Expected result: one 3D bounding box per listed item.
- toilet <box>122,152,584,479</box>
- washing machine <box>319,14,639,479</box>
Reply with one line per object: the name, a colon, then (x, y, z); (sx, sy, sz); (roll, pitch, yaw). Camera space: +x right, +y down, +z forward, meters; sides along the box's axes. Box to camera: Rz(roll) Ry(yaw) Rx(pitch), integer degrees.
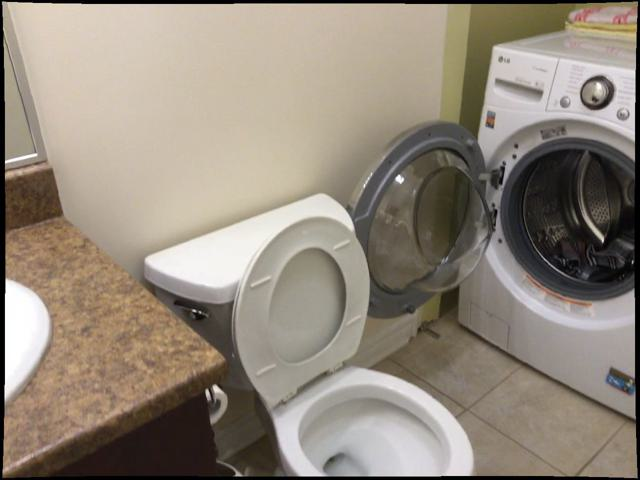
toilet: (0.030, 0.330, 1.260); (0.510, 0.771, 0.700); (-24, 37, -34)
washing machine: (0.699, -0.010, 1.620); (1.189, 0.971, 0.750); (-23, 37, -34)
